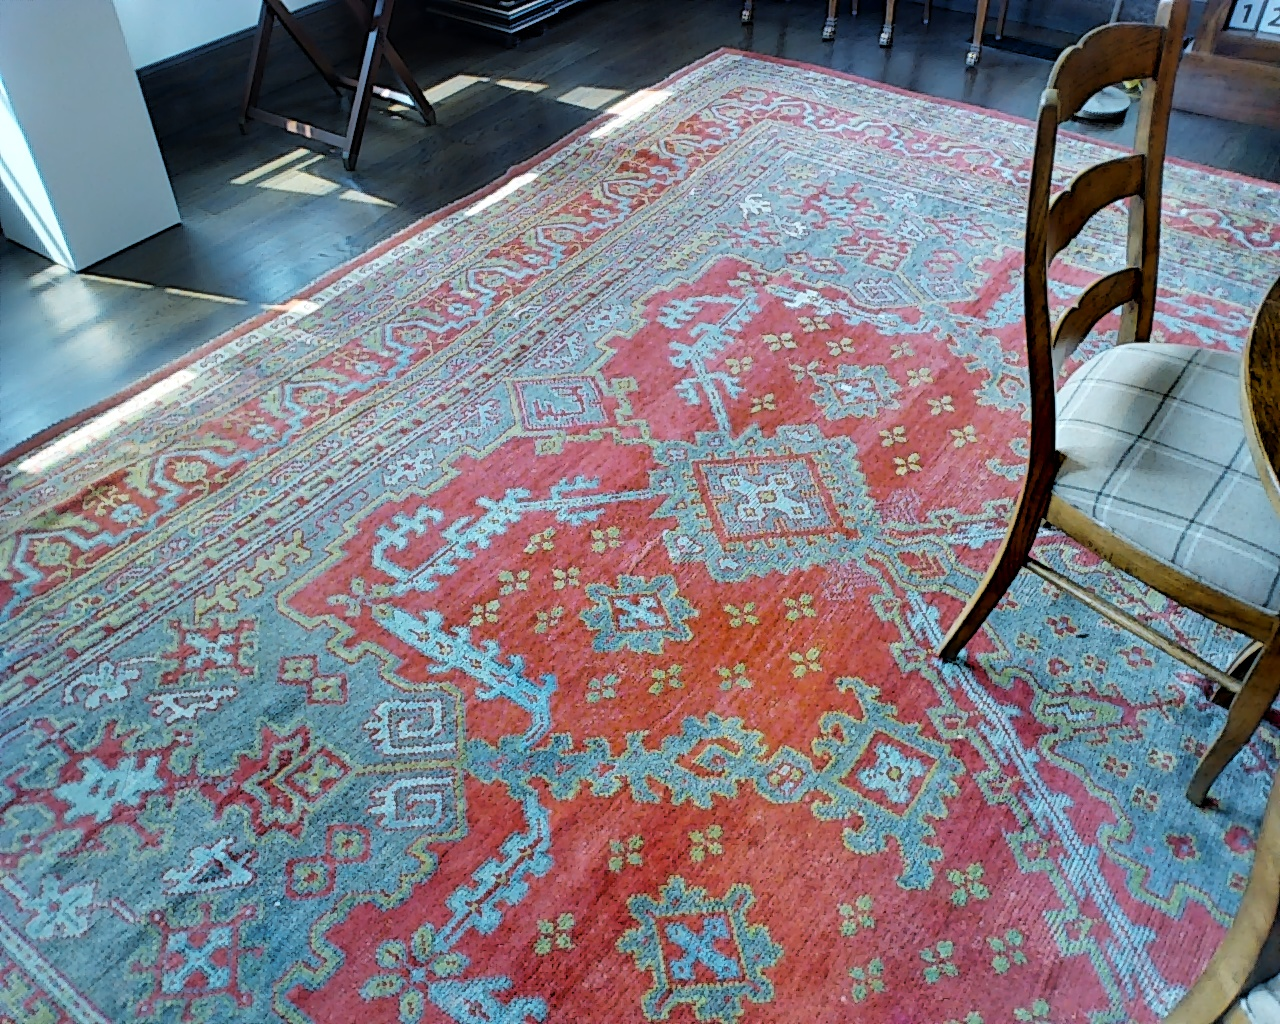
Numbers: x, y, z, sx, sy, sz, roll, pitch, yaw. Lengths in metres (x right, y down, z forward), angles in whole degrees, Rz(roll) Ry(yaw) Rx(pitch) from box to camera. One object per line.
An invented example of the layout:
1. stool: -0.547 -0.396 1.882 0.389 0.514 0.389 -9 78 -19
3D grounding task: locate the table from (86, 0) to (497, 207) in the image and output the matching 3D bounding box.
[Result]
1. table: -1.100 -1.630 3.480 0.730 0.760 1.000 25 48 25
